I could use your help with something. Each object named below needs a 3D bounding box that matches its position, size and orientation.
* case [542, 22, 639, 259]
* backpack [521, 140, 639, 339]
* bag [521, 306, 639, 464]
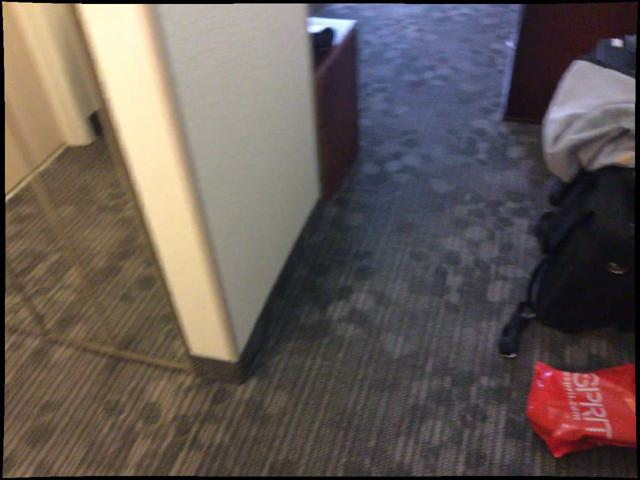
[{"bbox_3d":[0.919,-0.320,1.850,0.290,0.560,0.470,7,44,13],"label":"case"},{"bbox_3d":[0.799,0.000,1.640,0.370,0.420,0.330,7,44,13],"label":"backpack"},{"bbox_3d":[0.709,0.360,1.440,0.340,0.240,0.270,4,44,10],"label":"bag"}]
